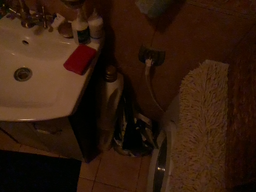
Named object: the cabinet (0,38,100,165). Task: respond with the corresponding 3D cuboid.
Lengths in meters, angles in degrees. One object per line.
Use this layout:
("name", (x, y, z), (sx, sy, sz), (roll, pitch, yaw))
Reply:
("cabinet", (-0.400, 0.090, 1.070), (0.440, 0.660, 0.290), (14, 62, 1))
